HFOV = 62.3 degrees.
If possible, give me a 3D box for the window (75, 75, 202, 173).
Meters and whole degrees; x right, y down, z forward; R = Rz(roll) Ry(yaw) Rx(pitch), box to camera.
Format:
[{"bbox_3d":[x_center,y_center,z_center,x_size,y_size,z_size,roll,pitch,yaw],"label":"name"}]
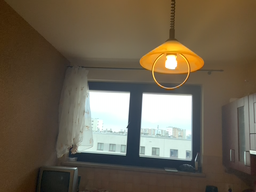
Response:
[{"bbox_3d":[0.160,0.360,3.020,1.650,1.210,0.290,3,-10,7],"label":"window"}]
